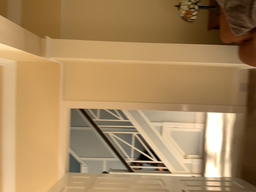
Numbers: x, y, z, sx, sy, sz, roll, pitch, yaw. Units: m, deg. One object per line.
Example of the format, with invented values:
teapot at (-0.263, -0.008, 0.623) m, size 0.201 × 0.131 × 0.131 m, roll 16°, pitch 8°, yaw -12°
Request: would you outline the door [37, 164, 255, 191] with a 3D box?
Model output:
door at (0.230, 0.850, 1.950) m, size 0.700 × 1.870 × 0.180 m, roll -162°, pitch 74°, yaw -88°
